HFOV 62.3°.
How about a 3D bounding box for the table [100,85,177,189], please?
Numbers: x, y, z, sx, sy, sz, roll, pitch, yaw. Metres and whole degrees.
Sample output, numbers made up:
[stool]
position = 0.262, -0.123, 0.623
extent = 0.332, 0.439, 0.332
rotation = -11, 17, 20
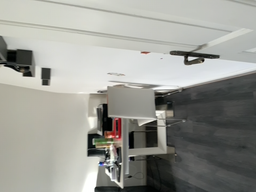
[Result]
[table]
position = 0.090, 0.520, 3.070
extent = 1.010, 0.760, 1.190
rotation = 165, 106, -69
